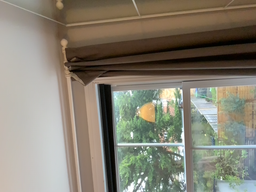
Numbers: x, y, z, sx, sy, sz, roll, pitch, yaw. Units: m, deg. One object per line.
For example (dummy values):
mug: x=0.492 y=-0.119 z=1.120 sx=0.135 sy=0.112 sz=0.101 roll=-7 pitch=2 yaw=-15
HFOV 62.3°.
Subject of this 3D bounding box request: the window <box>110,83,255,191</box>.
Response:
window: x=0.550 y=0.420 z=1.880 sx=0.060 sy=1.370 sz=1.030 roll=-48 pitch=-44 yaw=-77
